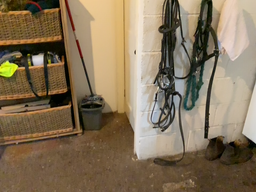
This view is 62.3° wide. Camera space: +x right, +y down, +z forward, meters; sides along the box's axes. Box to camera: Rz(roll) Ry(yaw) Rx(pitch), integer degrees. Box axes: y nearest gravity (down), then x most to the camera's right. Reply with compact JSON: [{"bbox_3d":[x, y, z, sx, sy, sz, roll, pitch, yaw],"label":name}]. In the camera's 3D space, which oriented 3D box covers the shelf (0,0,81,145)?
[{"bbox_3d":[-1.160,-0.250,1.850,1.320,1.340,0.390,-7,25,-13],"label":"shelf"}]
